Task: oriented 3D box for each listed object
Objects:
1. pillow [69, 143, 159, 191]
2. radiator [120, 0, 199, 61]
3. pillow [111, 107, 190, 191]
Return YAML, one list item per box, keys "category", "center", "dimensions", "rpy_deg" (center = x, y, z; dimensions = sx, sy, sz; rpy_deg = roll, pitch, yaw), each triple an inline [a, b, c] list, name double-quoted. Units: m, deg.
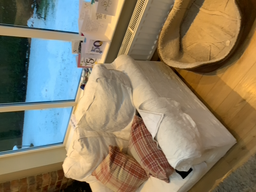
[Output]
- category: "pillow"
  center: [-0.110, 0.760, 1.990]
  dimensions: [0.490, 0.670, 0.190]
  rpy_deg: [-44, 42, 13]
- category: "radiator"
  center: [0.310, -0.710, 1.590]
  dimensions: [0.140, 0.420, 0.960]
  rpy_deg: [58, 137, 36]
- category: "pillow"
  center: [0.130, 0.400, 1.550]
  dimensions: [0.410, 0.230, 0.470]
  rpy_deg: [58, 137, 35]
